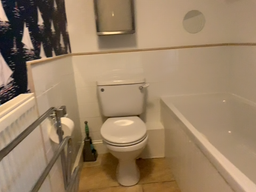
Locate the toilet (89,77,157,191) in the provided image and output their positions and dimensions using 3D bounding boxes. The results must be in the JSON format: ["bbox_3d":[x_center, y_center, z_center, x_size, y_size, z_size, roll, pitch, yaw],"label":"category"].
[{"bbox_3d":[-0.040,0.300,1.780,0.420,0.790,0.660,-4,14,-3],"label":"toilet"}]
